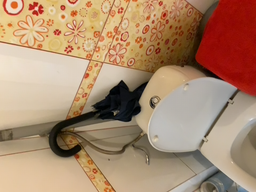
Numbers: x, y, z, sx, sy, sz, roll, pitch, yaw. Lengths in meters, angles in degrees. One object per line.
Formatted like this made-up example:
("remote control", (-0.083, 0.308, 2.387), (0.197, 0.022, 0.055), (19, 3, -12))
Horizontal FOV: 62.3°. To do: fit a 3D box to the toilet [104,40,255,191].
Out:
("toilet", (0.440, 0.160, 0.930), (0.710, 0.750, 0.360), (43, 114, 33))
